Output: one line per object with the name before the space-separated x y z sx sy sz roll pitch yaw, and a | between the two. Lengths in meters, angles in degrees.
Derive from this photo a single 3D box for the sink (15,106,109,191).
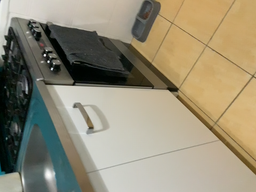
sink | -0.290 0.310 0.820 0.370 0.150 0.390 52 126 37
